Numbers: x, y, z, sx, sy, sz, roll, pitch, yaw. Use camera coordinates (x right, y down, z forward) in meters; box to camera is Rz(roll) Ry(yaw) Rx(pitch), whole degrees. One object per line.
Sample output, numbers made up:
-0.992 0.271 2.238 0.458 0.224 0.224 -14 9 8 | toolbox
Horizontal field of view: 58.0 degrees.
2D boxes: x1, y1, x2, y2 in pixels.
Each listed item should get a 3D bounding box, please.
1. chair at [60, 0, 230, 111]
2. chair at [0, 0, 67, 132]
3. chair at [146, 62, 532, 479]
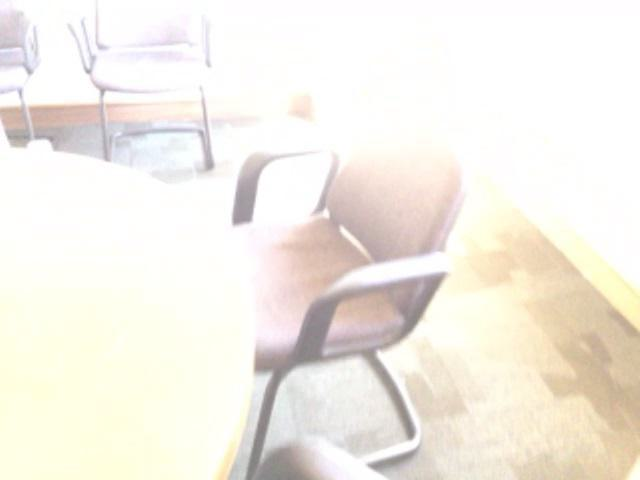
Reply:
-0.760 -0.940 2.600 0.620 0.490 0.570 -6 35 -12 | chair
-1.510 -0.870 2.500 0.590 0.600 0.640 -6 35 -12 | chair
-0.040 0.100 1.450 0.630 0.850 0.690 -8 36 -14 | chair
